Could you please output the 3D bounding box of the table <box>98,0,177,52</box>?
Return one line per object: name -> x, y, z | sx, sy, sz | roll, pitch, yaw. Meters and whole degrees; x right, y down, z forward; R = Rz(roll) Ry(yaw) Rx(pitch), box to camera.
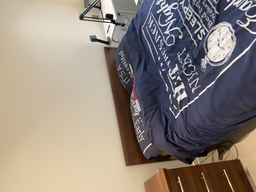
table -> 0.080, -1.030, 2.730 | 0.410, 0.770, 0.810 | 115, 148, -52
